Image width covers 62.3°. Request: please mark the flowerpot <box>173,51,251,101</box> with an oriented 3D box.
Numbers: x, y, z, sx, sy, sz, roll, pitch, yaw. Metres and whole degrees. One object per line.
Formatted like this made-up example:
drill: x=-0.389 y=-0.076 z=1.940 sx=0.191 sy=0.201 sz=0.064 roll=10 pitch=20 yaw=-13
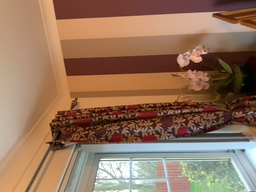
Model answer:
flowerpot: x=0.720 y=-0.180 z=1.900 sx=0.230 sy=0.570 sz=0.370 roll=-86 pitch=-7 yaw=-65
